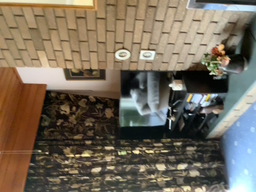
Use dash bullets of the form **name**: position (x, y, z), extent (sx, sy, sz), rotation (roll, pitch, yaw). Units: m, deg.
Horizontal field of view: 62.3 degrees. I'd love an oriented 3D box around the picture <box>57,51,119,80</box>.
- **picture**: position (-0.480, -0.370, 2.660), extent (0.470, 0.720, 0.030), rotation (98, 170, -54)
